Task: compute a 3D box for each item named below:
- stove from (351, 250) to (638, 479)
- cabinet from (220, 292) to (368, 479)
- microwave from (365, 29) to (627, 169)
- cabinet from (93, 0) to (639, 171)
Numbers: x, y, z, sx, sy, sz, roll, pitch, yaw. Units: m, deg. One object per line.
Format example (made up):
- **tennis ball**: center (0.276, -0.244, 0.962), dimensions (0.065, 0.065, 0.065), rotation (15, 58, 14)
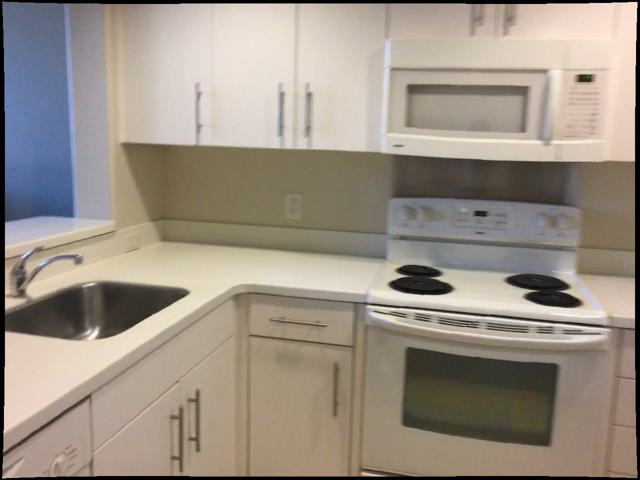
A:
- **stove**: center (0.598, 0.602, 2.220), dimensions (0.838, 0.952, 0.720), rotation (4, 11, 12)
- **cabinet**: center (-0.100, 0.642, 2.140), dimensions (0.509, 0.842, 0.150), rotation (4, 11, 12)
- **microwave**: center (0.598, -0.501, 2.070), dimensions (0.838, 0.451, 0.160), rotation (4, 11, 12)
- **cabinet**: center (0.469, -0.832, 2.010), dimensions (2.693, 1.123, 0.200), rotation (4, 11, 12)
